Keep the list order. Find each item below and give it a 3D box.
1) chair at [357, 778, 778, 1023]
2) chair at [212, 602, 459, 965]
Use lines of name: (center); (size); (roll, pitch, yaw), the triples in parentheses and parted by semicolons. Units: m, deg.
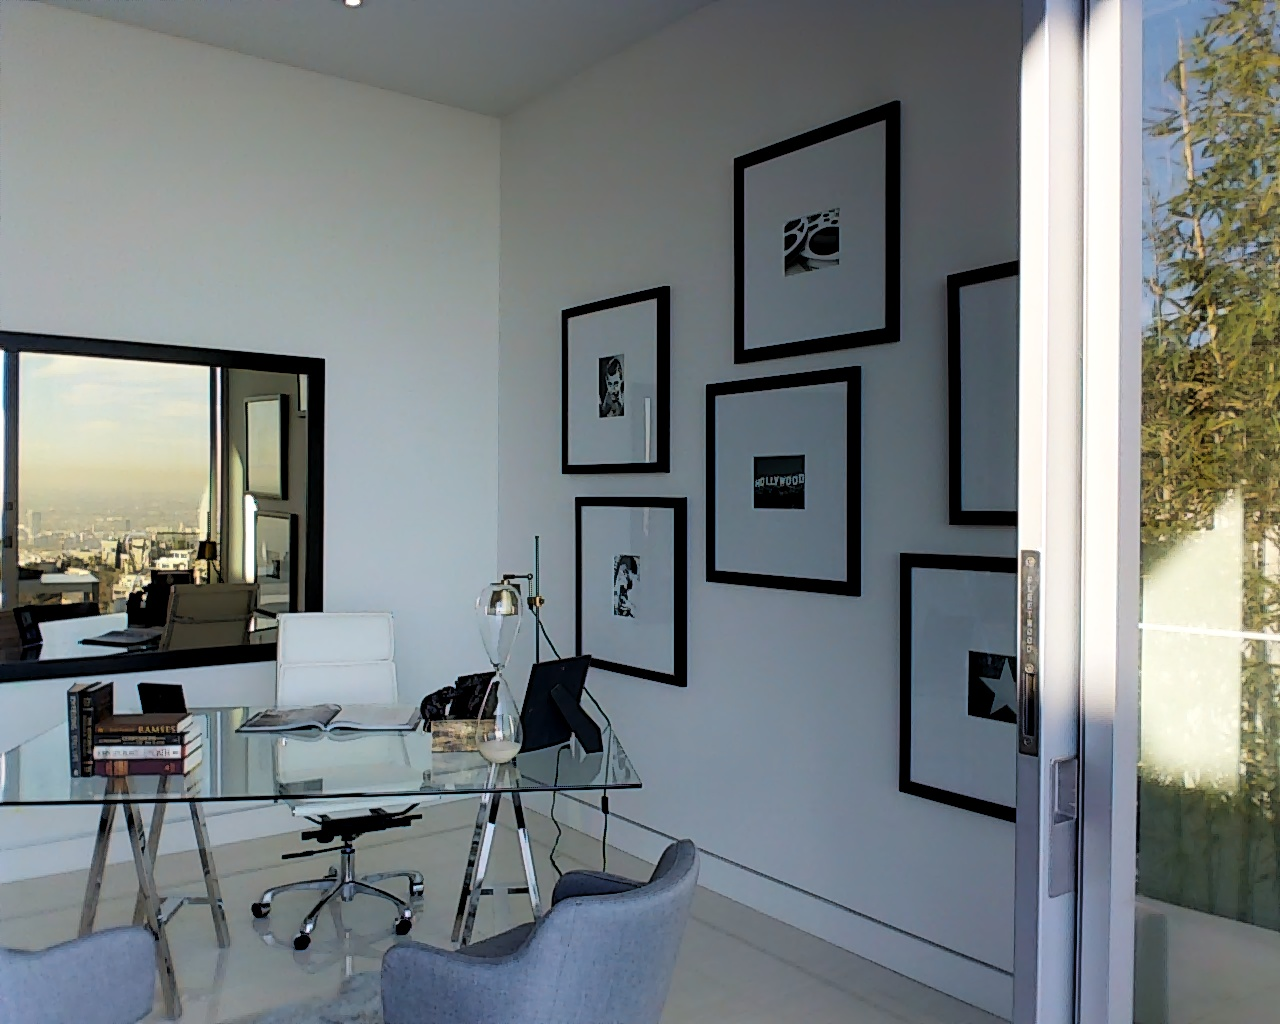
chair: (-0.160, 1.090, 2.380); (0.690, 0.760, 0.620); (1, 2, 42)
chair: (-1.040, 0.900, 3.870); (0.720, 1.060, 0.850); (0, 1, -6)
